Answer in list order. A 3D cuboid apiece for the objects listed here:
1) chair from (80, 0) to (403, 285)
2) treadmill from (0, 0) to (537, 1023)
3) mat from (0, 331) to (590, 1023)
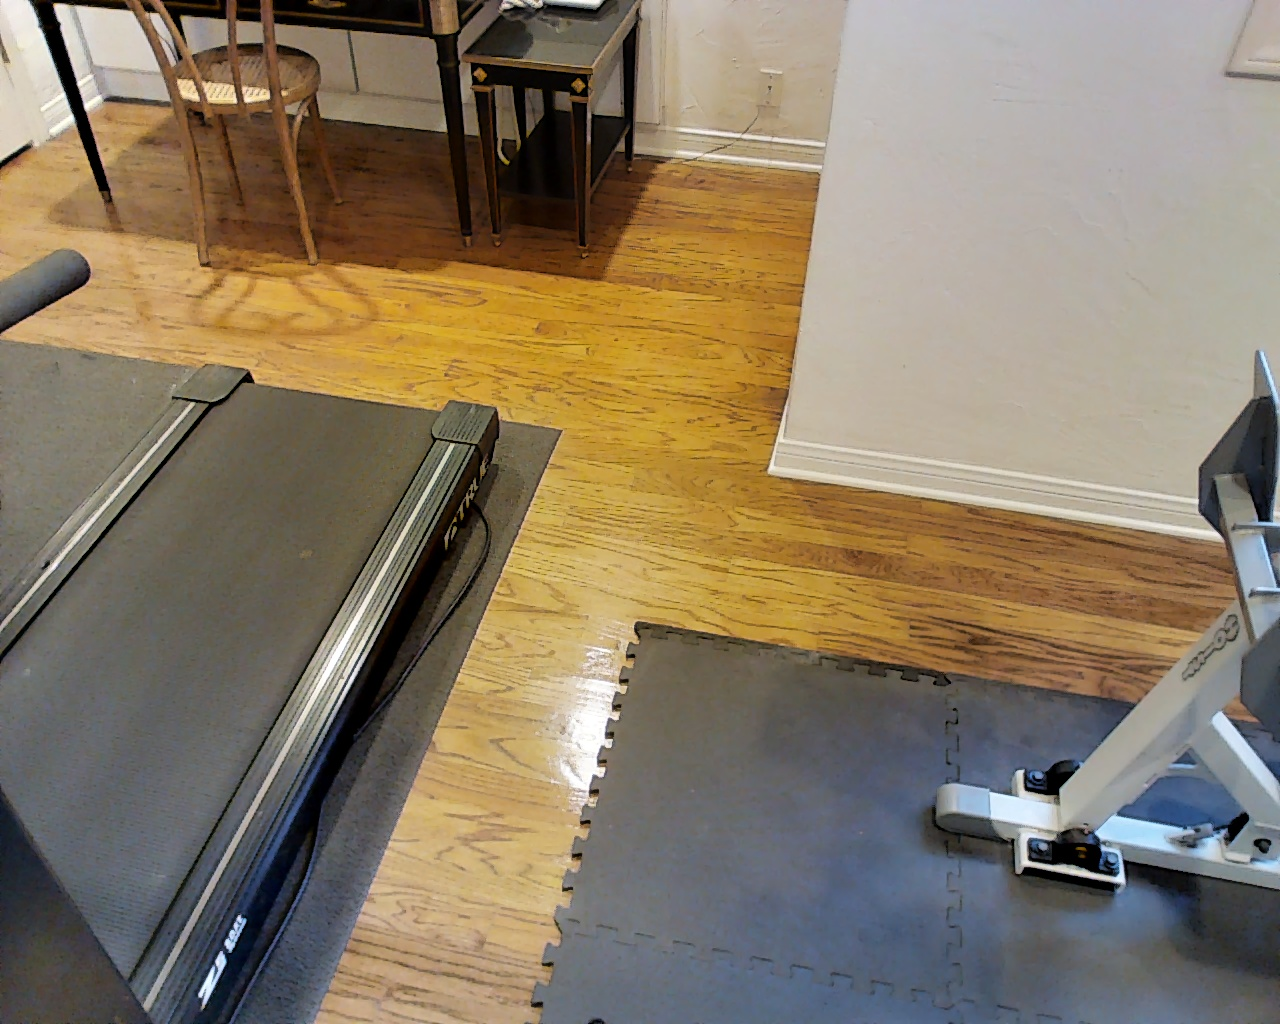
[{"bbox_3d":[-1.060,-1.210,2.970,0.490,0.910,0.600,9,44,9],"label":"chair"},{"bbox_3d":[-0.800,-0.140,1.510,0.770,1.400,1.720,10,44,9],"label":"treadmill"},{"bbox_3d":[-1.280,0.310,2.010,1.920,0.040,2.010,10,44,9],"label":"mat"}]
